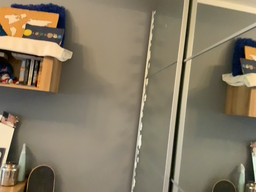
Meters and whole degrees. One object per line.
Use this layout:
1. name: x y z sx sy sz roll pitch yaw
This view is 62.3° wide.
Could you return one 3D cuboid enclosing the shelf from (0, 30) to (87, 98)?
1. shelf: -1.120 -0.270 1.480 1.580 0.360 0.370 7 -3 -8
